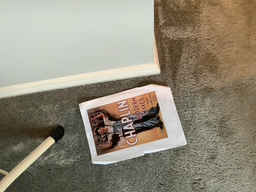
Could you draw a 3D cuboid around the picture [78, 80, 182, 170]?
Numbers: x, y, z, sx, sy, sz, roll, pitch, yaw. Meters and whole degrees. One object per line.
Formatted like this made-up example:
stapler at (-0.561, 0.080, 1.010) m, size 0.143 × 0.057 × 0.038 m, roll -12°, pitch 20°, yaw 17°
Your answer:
picture at (0.000, 0.090, 0.660) m, size 0.280 × 0.010 × 0.220 m, roll -13°, pitch 82°, yaw 5°
